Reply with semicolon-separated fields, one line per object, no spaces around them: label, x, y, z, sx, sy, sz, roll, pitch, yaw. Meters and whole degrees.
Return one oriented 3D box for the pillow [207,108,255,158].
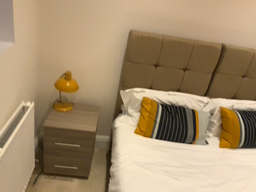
pillow;1.030;0.290;1.810;0.640;0.350;0.160;-16;44;3

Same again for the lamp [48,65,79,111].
lamp;-0.540;-0.070;1.790;0.200;0.300;0.210;8;26;-7
